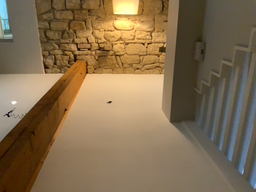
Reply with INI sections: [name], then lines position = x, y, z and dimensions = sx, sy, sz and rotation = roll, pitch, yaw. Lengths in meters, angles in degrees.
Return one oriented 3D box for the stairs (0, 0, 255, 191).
[stairs]
position = 0.700, -0.150, 0.170
dimensions = 1.930, 3.080, 3.480
rotation = 0, -160, 0
